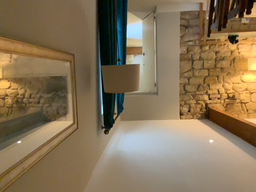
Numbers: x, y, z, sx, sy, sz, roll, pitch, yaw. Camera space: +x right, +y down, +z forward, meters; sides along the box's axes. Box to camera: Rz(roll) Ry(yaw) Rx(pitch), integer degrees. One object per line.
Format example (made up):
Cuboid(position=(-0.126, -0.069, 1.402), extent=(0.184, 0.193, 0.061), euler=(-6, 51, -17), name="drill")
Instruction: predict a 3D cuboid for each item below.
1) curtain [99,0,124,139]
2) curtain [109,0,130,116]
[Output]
Cuboid(position=(-0.210, -0.620, 2.720), extent=(0.220, 2.250, 0.480), euler=(-2, -173, -1), name="curtain")
Cuboid(position=(-0.150, -0.800, 3.810), extent=(0.270, 2.220, 0.550), euler=(-2, -173, -1), name="curtain")
